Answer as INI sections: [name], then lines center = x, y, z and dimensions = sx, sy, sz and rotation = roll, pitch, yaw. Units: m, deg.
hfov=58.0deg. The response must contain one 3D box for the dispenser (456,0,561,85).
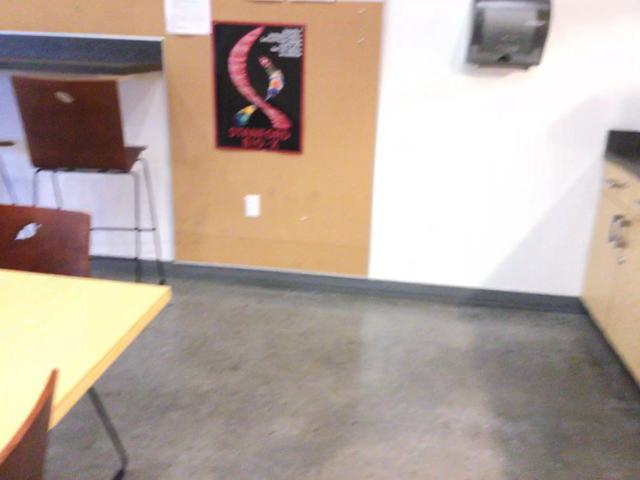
[dispenser]
center = 0.780, -0.850, 2.440
dimensions = 0.350, 0.340, 0.260
rotation = 9, 17, 10

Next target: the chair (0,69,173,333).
[chair]
center = -1.050, -0.200, 2.660
dimensions = 0.530, 1.040, 0.590
rotation = 7, 13, -2
